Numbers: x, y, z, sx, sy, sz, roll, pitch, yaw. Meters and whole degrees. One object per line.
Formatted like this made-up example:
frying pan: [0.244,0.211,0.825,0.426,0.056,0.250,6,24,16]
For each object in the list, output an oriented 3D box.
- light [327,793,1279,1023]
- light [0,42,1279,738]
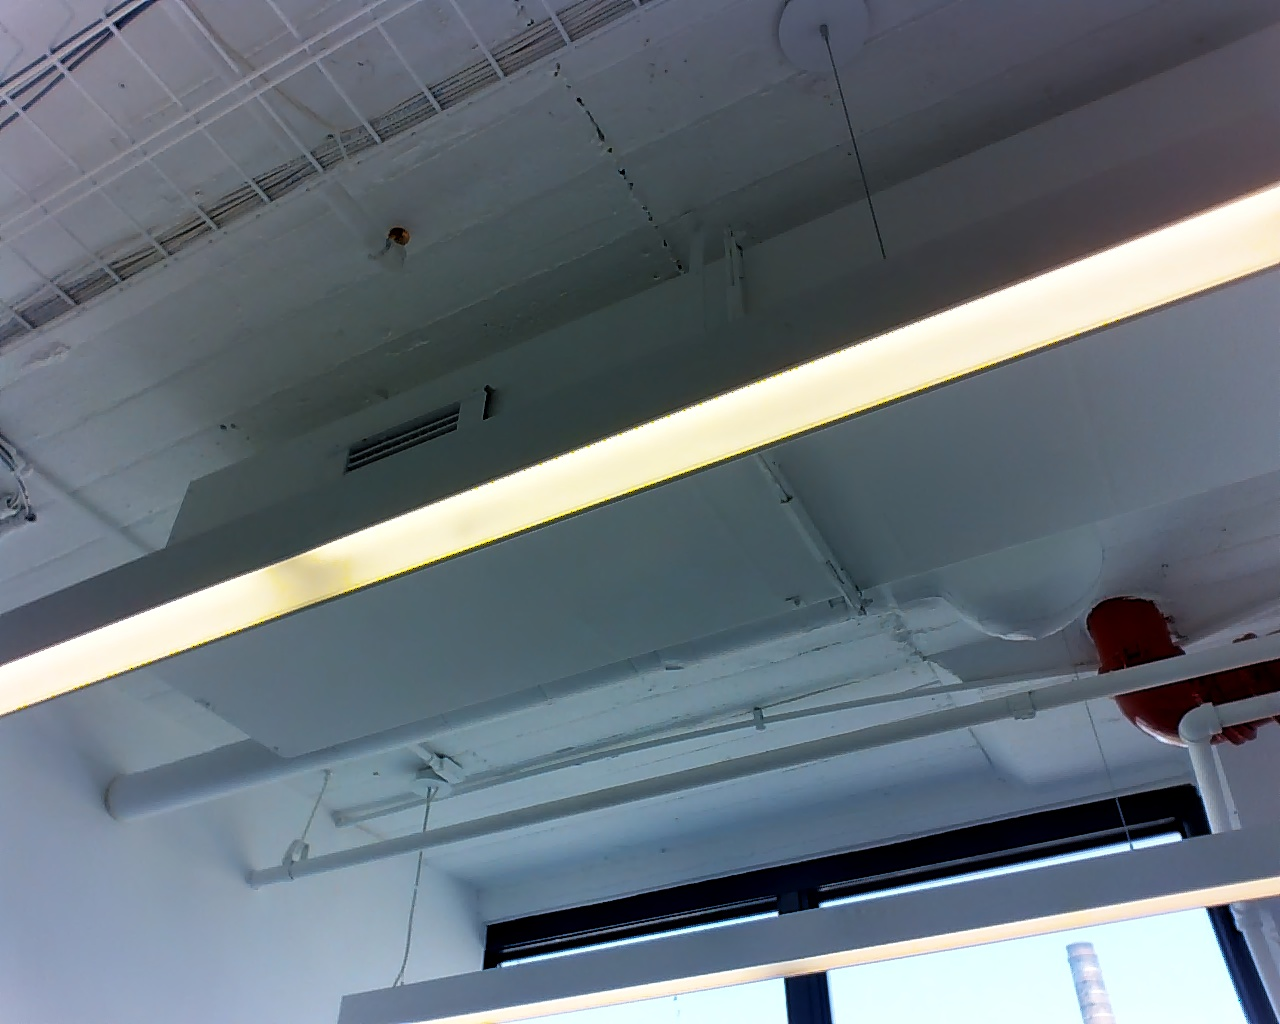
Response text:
light: [0.330,1.011,2.470,2.499,0.190,0.200,-19,-45,20]
light: [-0.440,0.040,1.390,2.459,0.180,0.140,-19,-45,20]
